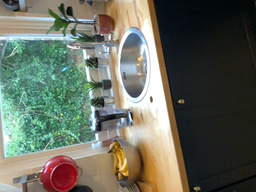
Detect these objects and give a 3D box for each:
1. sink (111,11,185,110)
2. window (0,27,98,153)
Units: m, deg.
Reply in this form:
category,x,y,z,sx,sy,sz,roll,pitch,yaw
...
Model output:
category,x,y,z,sx,sy,sz,roll,pitch,yaw
sink,0.090,-0.180,1.320,0.460,0.190,0.460,153,109,-64
window,-0.900,-0.050,1.450,0.100,1.280,0.860,152,110,-64
